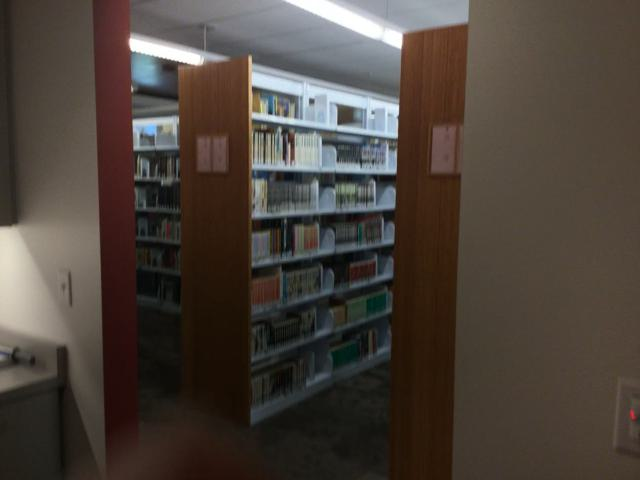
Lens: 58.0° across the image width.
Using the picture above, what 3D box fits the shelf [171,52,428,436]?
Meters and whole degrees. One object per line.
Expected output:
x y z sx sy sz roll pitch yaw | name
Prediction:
0.020 -0.060 4.350 0.600 2.170 2.300 4 8 35 | shelf
